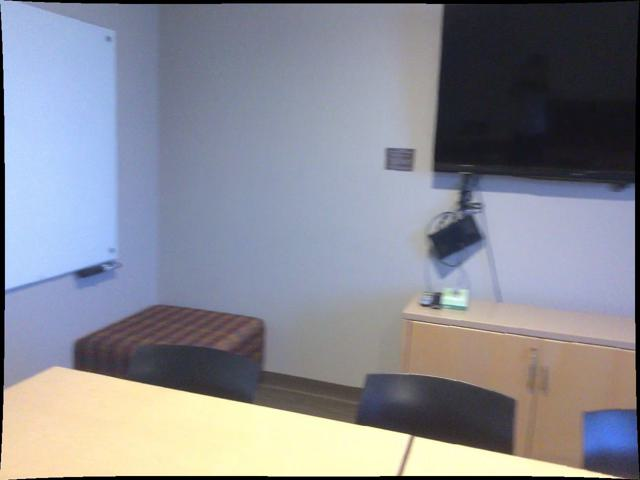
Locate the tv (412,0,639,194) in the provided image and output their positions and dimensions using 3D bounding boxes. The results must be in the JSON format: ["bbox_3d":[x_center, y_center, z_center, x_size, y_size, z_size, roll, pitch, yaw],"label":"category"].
[{"bbox_3d":[1.188,-0.671,2.640,1.428,0.861,0.240,6,11,17],"label":"tv"}]
